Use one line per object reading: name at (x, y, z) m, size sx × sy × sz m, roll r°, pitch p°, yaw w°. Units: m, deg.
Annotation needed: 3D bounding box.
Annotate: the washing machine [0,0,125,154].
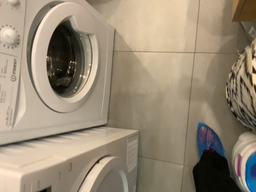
washing machine at (-0.410, -0.160, 0.940) m, size 0.500 × 0.840 × 0.590 m, roll 5°, pitch 89°, yaw 18°
